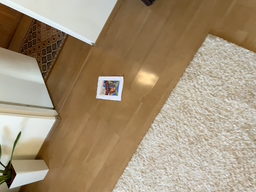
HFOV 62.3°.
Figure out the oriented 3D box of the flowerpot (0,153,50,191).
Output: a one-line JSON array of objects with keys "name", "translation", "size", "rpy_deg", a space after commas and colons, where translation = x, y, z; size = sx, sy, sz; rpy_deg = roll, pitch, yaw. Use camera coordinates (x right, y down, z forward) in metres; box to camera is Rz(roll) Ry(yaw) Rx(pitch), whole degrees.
[{"name": "flowerpot", "translation": [-1.050, 0.780, 2.160], "size": [0.280, 0.330, 0.230], "rpy_deg": [-53, 56, 16]}]
